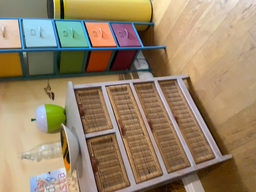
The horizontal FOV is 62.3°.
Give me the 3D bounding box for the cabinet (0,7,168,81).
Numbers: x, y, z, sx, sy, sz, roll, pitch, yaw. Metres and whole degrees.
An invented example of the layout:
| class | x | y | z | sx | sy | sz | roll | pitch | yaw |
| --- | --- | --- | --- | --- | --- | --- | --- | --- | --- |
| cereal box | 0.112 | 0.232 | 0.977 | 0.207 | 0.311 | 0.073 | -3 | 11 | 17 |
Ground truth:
| class | x | y | z | sx | sy | sz | roll | pitch | yaw |
| --- | --- | --- | --- | --- | --- | --- | --- | --- | --- |
| cabinet | -0.350 | -0.390 | 1.640 | 0.350 | 1.270 | 0.320 | -58 | 45 | 52 |
